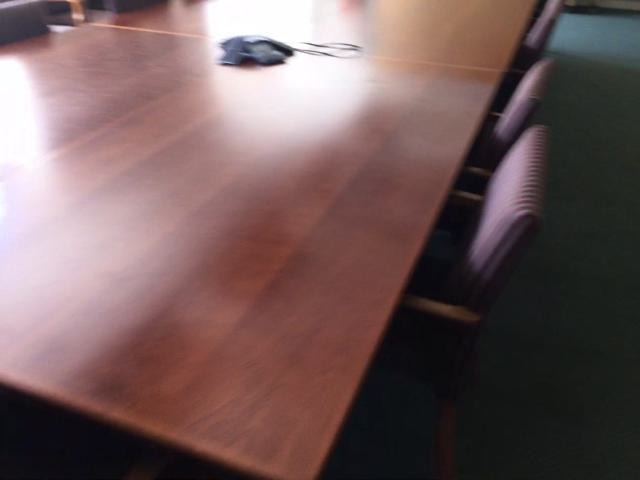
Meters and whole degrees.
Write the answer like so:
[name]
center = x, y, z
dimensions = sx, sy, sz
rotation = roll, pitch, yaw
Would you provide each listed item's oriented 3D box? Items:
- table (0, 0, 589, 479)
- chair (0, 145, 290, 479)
[table]
center = 0.190, -0.980, 3.200
dimensions = 2.130, 0.830, 5.470
rotation = 17, 37, 19
[chair]
center = -0.460, 0.410, 0.970
dimensions = 0.570, 0.840, 0.650
rotation = 17, 37, 19
